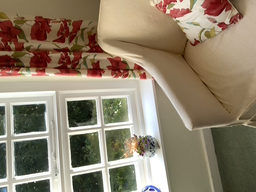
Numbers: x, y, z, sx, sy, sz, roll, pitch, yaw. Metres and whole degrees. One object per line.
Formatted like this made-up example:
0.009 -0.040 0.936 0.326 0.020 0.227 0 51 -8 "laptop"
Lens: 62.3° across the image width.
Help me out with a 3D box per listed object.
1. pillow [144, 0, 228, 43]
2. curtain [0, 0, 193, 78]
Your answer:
0.280 -0.440 1.030 0.320 0.360 0.180 -15 83 20 "pillow"
-0.390 -0.350 1.320 1.690 0.280 0.410 -3 84 -23 "curtain"
